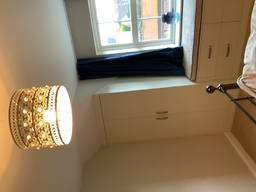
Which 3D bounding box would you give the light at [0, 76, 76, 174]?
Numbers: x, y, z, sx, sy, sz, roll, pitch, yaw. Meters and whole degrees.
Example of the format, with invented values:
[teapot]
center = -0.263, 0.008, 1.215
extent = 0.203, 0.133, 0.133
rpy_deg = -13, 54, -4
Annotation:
[light]
center = -0.510, 0.120, 0.970
extent = 0.450, 0.320, 0.300
rpy_deg = -3, 119, -4
